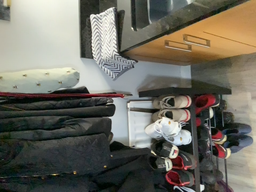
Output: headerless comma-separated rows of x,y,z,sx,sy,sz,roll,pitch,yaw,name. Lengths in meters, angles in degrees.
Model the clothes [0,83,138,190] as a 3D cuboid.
-0.400,0.150,1.020,0.360,0.840,0.380,-5,86,54,clothes
